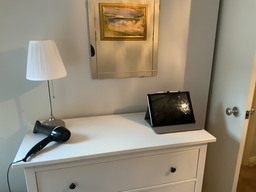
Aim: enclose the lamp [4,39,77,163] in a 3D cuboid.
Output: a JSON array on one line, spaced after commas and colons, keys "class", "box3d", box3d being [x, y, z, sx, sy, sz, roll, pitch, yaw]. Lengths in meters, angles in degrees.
[{"class": "lamp", "box3d": [-0.510, 0.000, 1.250, 0.290, 0.630, 0.310, -10, 20, -30]}]
